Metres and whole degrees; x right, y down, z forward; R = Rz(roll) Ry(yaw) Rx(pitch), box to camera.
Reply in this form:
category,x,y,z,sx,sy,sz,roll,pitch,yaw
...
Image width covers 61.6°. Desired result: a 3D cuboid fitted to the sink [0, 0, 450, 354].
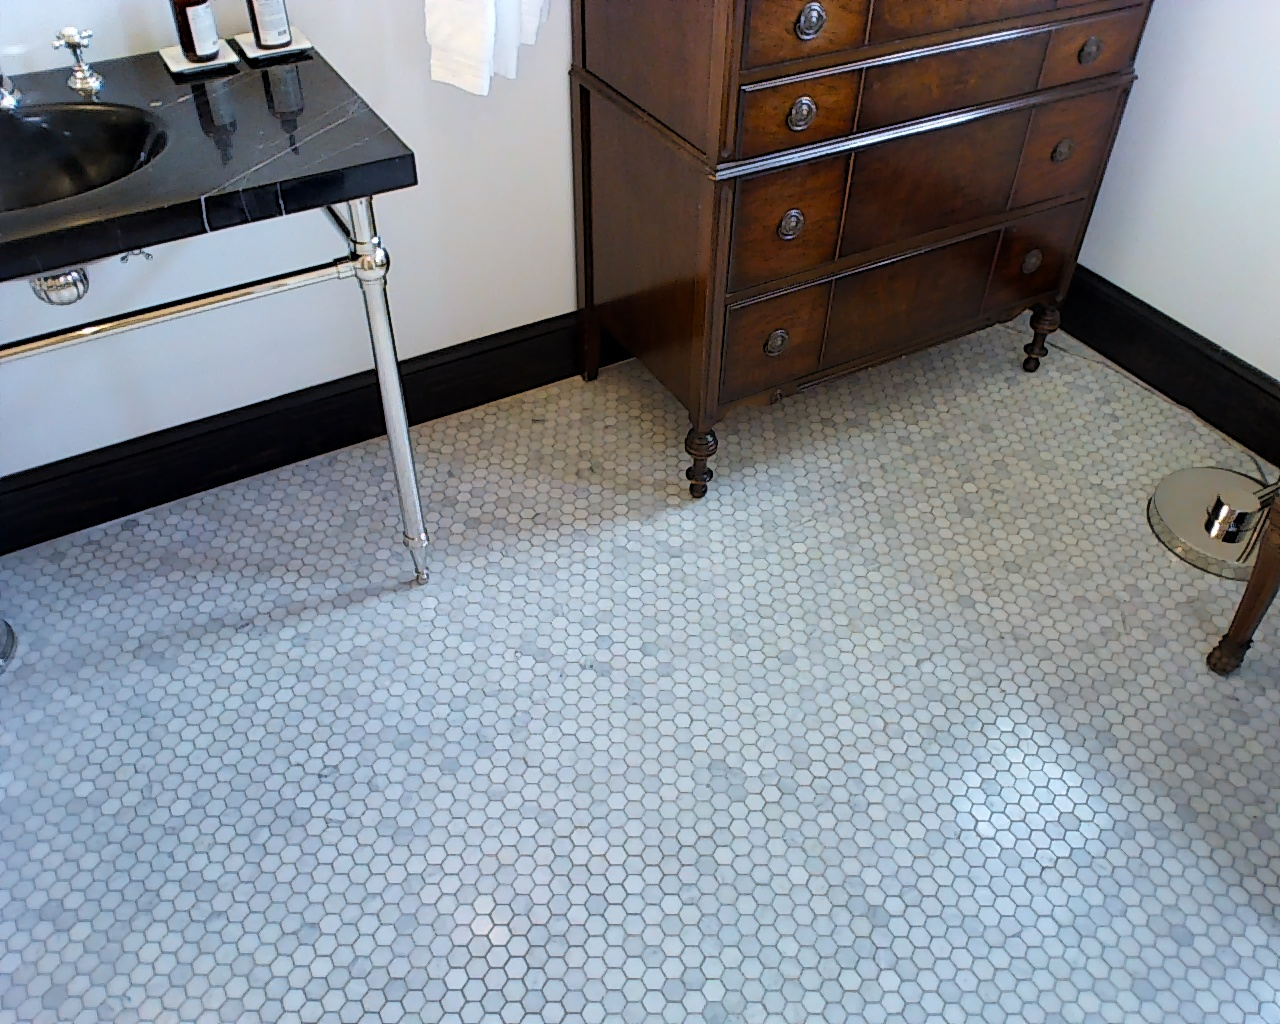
category,x,y,z,sx,sy,sz,roll,pitch,yaw
sink,-0.850,-0.500,1.490,0.990,0.260,0.570,-21,47,-22

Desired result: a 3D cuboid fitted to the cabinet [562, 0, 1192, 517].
category,x,y,z,sx,sy,sz,roll,pitch,yaw
cabinet,0.450,-0.760,2.230,1.060,1.160,0.570,-21,47,-22
